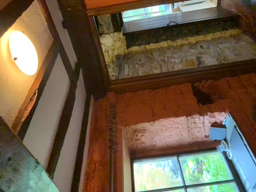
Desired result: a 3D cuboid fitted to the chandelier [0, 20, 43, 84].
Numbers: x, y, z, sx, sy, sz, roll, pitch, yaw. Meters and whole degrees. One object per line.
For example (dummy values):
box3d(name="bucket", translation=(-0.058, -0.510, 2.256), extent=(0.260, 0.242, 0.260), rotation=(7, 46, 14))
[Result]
box3d(name="chandelier", translation=(-0.610, -0.240, 1.160), extent=(0.190, 0.140, 0.270), rotation=(-94, 174, -53))
